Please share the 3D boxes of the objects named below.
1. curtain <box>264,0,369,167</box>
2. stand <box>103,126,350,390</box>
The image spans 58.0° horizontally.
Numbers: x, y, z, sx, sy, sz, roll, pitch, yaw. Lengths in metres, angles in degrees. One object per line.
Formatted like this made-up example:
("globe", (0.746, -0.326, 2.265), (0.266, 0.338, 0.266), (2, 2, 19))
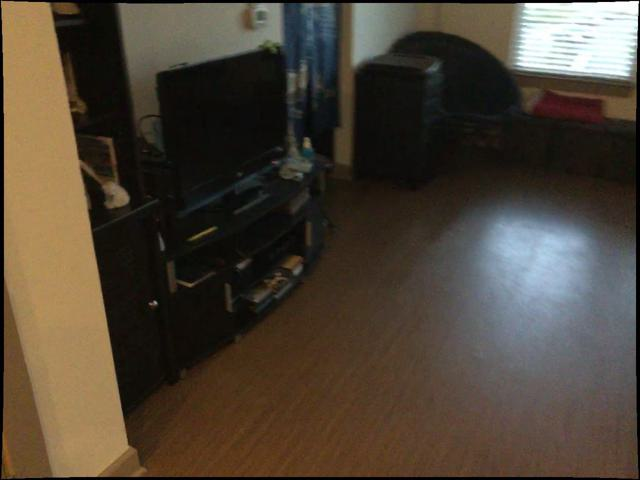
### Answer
("curtain", (-0.020, -1.383, 3.220), (0.140, 1.723, 0.890), (8, 32, 26))
("stand", (-0.289, -0.010, 2.450), (0.349, 0.561, 1.170), (8, 33, 26))
